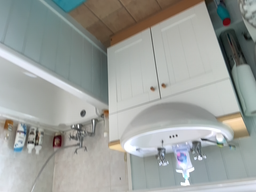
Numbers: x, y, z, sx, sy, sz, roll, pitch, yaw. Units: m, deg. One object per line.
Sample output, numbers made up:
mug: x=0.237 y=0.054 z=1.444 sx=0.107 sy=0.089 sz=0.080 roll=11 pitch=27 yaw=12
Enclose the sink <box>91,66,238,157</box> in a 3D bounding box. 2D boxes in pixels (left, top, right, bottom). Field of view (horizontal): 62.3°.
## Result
sink: x=0.210 y=0.150 z=1.140 sx=0.590 sy=0.200 sz=0.550 roll=-19 pitch=151 yaw=27
